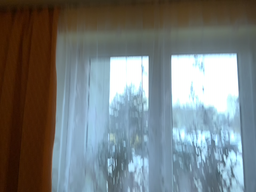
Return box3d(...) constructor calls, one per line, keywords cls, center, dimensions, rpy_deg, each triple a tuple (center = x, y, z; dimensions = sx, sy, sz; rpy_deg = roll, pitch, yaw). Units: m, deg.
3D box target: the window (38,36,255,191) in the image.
box3d(cls="window", center=(0.120, 0.390, 1.370), dimensions=(1.390, 1.520, 0.130), rpy_deg=(0, -7, 9))
